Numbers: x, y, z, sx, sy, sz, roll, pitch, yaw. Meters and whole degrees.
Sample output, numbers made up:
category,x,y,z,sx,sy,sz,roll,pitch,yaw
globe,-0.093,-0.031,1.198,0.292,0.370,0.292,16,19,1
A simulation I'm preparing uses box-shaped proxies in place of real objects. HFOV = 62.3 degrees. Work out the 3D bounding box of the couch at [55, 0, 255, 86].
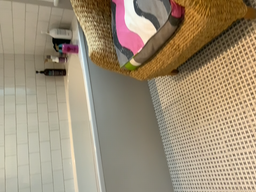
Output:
category,x,y,z,sx,sy,sz,roll,pitch,yaw
couch,0.080,-0.580,1.170,0.800,0.780,0.800,-38,58,57

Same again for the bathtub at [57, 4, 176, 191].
category,x,y,z,sx,sy,sz,roll,pitch,yaw
bathtub,-0.200,0.250,2.000,0.800,0.620,1.920,-38,59,57
